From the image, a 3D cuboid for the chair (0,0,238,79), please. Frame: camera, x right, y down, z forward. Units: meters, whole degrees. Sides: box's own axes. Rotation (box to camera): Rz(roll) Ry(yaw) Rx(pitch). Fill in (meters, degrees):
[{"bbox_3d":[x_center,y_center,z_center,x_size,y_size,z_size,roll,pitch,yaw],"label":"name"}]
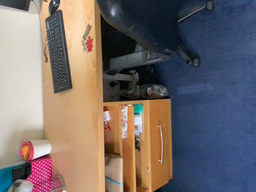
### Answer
[{"bbox_3d":[0.000,-0.490,1.140,0.750,1.010,0.670,-7,87,42],"label":"chair"}]
